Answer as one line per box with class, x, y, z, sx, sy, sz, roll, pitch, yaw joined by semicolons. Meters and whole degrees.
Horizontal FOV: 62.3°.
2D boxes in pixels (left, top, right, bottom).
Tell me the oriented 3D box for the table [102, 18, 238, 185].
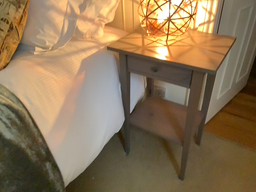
table;0.210;0.010;1.170;0.480;0.700;0.410;20;41;29
